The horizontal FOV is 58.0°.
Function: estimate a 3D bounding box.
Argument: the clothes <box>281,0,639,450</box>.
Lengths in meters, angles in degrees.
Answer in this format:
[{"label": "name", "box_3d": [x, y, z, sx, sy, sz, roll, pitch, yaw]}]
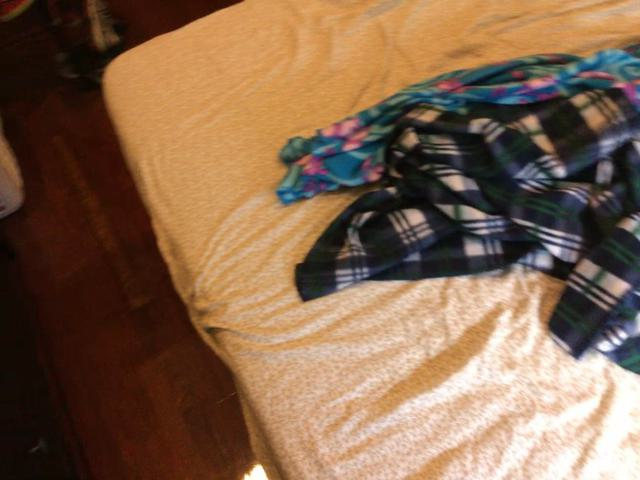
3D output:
[{"label": "clothes", "box_3d": [0.550, -0.230, 0.940, 1.070, 0.130, 0.580, -30, 61, -13]}]

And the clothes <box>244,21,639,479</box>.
[{"label": "clothes", "box_3d": [0.280, 0.000, 0.820, 0.560, 0.120, 0.560, -30, 61, -13]}]
